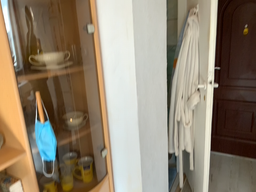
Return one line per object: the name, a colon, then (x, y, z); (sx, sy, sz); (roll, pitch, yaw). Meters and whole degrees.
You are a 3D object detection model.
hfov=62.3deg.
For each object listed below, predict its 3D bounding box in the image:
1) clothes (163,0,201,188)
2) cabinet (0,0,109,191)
clothes: (0.420, -0.010, 1.770); (0.160, 1.500, 0.420); (-4, 16, -2)
cabinet: (-0.400, 0.000, 1.010); (0.390, 0.910, 0.400); (5, 18, 28)
